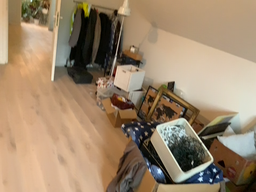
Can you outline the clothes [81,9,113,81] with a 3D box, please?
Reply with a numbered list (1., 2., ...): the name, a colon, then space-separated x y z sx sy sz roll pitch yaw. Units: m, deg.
1. clothes: -0.670 -1.050 4.350 0.320 1.280 0.660 5 25 -22
